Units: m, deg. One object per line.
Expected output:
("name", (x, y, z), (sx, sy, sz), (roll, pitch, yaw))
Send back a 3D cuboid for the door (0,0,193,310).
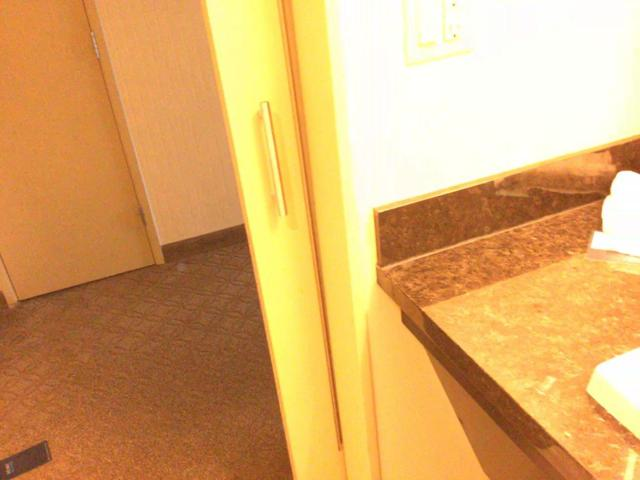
("door", (-1.130, -0.740, 2.200), (0.770, 2.160, 0.050), (-17, 29, -13))
